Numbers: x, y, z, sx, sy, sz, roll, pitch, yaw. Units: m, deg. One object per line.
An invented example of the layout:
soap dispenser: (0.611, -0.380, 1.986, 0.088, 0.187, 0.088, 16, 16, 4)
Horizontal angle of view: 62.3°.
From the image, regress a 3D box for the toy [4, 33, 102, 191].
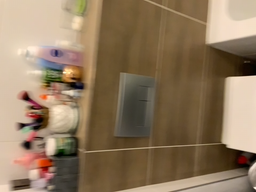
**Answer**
toy: (-0.280, 0.070, 0.790, 0.190, 0.270, 0.510, 4, 90, 57)
